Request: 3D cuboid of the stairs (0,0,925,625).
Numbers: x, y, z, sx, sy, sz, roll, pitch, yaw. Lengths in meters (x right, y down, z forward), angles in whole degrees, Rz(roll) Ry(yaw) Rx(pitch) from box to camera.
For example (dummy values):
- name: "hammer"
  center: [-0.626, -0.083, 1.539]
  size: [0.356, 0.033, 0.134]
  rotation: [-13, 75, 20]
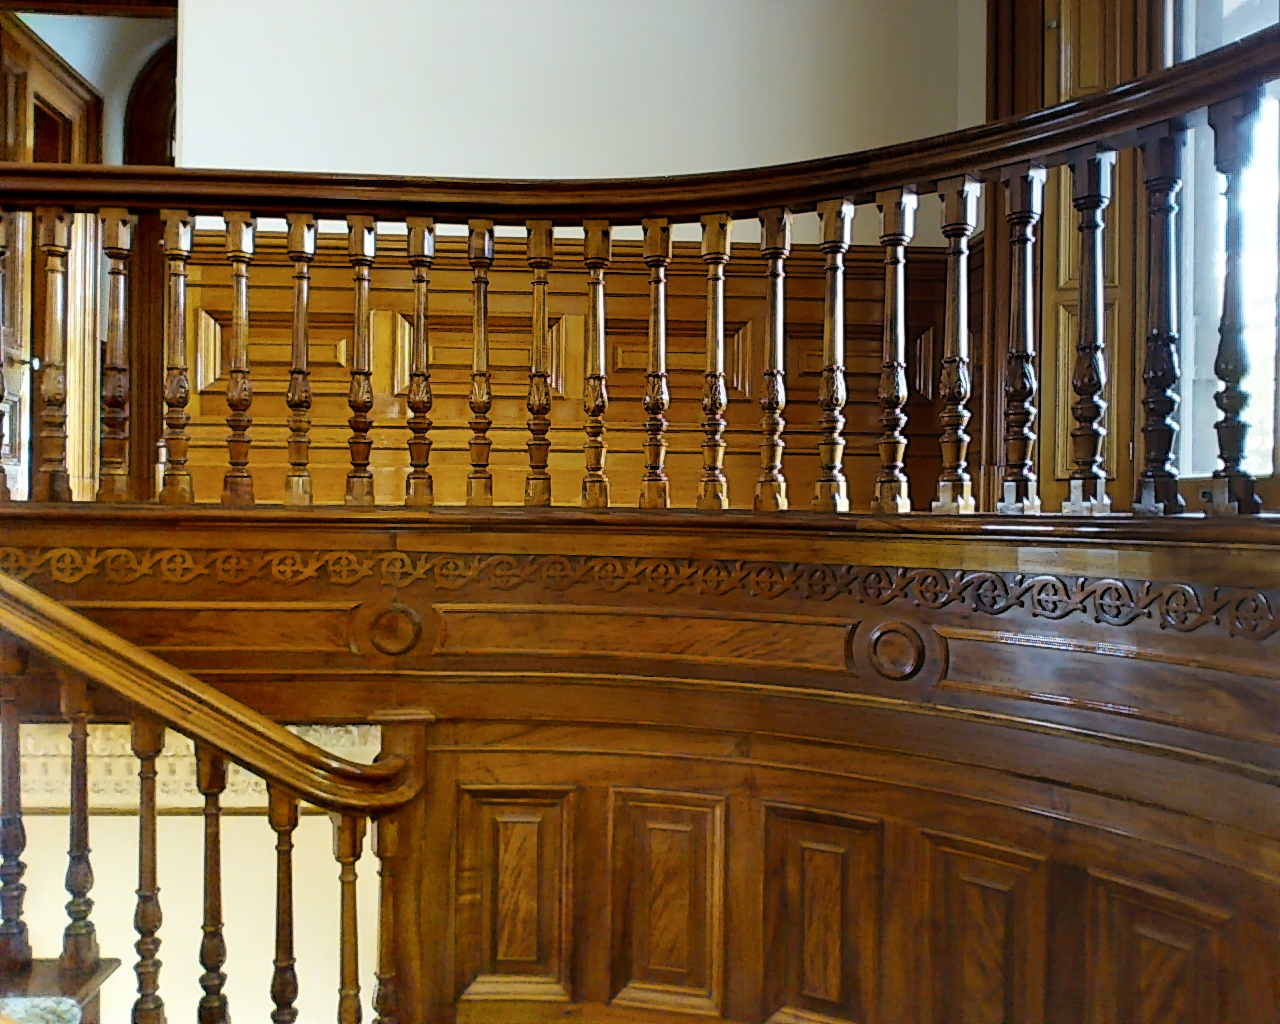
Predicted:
- name: "stairs"
  center: [-0.750, -0.570, 2.700]
  size: [2.590, 1.570, 1.160]
  rotation: [0, 1, -5]
